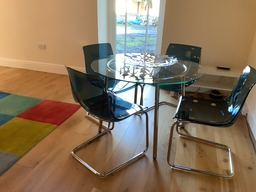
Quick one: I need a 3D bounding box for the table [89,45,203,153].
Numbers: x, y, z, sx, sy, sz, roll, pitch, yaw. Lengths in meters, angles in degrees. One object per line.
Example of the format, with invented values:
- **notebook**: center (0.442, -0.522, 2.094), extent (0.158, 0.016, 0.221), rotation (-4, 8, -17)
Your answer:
- **table**: center (0.230, -0.060, 2.320), extent (0.980, 0.770, 0.850), rotation (10, 25, 17)
